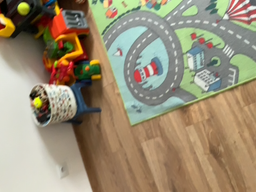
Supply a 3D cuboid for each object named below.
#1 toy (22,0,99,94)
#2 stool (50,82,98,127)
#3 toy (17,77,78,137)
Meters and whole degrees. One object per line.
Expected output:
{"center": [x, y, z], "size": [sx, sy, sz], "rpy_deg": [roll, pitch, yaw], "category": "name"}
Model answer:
{"center": [-0.530, -0.400, 1.630], "size": [0.370, 0.190, 0.680], "rpy_deg": [-26, 78, 26], "category": "toy"}
{"center": [-0.400, 0.060, 1.570], "size": [0.220, 0.180, 0.250], "rpy_deg": [-28, 77, 26], "category": "stool"}
{"center": [-0.530, 0.070, 1.400], "size": [0.230, 0.200, 0.310], "rpy_deg": [-28, 78, 26], "category": "toy"}
